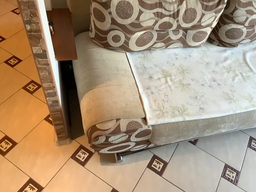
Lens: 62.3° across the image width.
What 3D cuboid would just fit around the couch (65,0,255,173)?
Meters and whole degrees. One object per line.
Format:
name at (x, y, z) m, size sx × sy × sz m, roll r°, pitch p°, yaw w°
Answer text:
couch at (0.640, -0.290, 1.510) m, size 2.000 × 0.880 × 0.980 m, roll -7°, pitch 54°, yaw -14°
